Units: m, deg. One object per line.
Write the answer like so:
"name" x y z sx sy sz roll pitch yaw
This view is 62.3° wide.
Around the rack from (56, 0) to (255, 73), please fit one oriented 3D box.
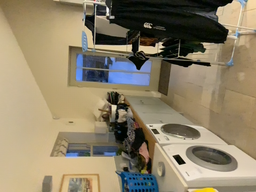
"rack" 0.280 -0.770 2.280 1.040 1.840 0.840 -135 49 -75
